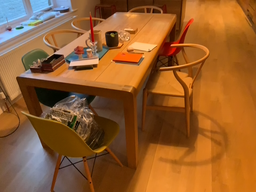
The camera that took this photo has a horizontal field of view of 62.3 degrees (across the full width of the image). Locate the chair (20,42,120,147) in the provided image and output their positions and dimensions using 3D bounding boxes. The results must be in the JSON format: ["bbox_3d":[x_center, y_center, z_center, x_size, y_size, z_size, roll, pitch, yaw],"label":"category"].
[{"bbox_3d":[-0.460,-0.030,1.940,0.590,0.760,0.470,8,35,17],"label":"chair"}]

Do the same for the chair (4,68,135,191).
[{"bbox_3d":[-0.300,0.310,1.410,0.470,0.760,0.530,16,39,27],"label":"chair"}]
